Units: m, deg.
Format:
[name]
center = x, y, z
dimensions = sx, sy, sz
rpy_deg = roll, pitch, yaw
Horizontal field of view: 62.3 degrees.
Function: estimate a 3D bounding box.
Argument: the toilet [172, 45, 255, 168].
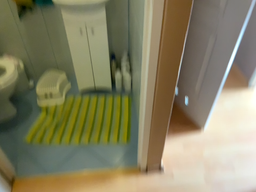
[toilet]
center = 0.830, 0.100, 1.930
dimensions = 0.380, 0.810, 0.680
rpy_deg = -23, 49, -22
